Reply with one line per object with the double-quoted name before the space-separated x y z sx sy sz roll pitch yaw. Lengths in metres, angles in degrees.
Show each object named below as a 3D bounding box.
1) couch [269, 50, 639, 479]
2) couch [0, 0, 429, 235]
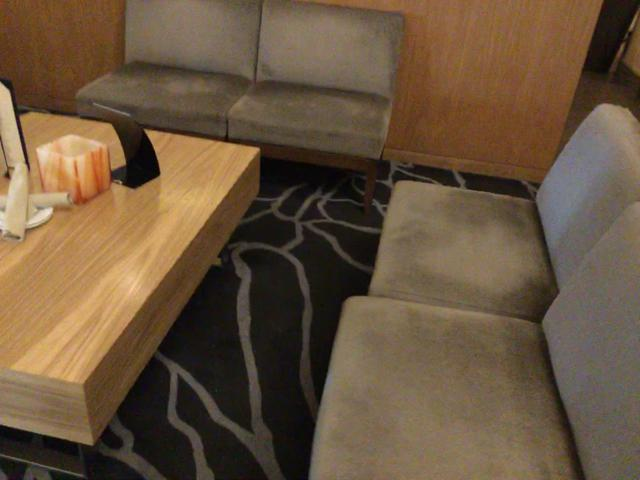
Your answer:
"couch" 0.430 0.180 1.500 0.780 0.830 1.580 12 32 5
"couch" -0.430 -0.720 2.770 1.710 0.780 0.860 10 32 2
